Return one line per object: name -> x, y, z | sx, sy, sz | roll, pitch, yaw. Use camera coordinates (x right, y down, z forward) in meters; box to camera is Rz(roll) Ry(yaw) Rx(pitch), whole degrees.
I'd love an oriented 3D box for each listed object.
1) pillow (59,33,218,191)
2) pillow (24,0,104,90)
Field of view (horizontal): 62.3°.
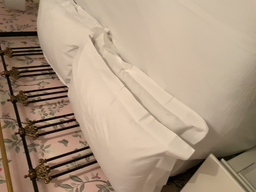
pillow -> -0.060, 0.090, 1.000 | 0.780, 0.270, 0.440 | 52, 139, 36
pillow -> -0.470, -0.440, 1.410 | 0.760, 0.250, 0.370 | 52, 139, 35
